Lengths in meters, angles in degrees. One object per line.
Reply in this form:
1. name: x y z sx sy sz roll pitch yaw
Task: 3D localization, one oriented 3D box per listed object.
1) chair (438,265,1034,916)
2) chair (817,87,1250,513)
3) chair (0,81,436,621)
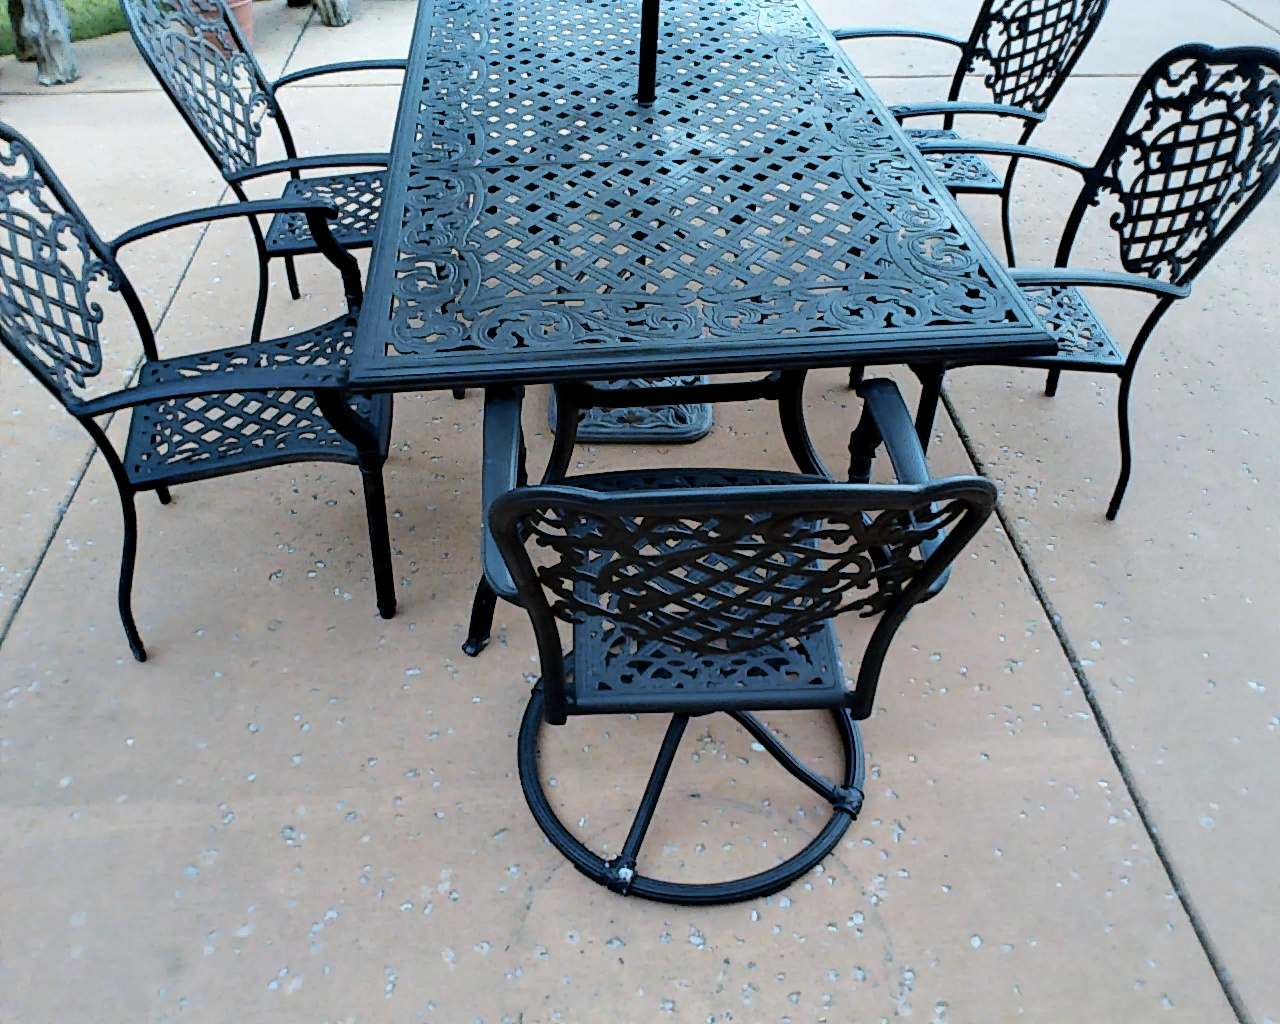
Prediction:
1. chair: 0.080 0.110 1.640 0.650 0.710 0.650 -2 41 -4
2. chair: 0.770 -0.460 2.340 0.580 0.710 0.560 -2 41 -4
3. chair: -0.760 -0.300 2.030 0.620 0.790 0.600 -2 41 -4
